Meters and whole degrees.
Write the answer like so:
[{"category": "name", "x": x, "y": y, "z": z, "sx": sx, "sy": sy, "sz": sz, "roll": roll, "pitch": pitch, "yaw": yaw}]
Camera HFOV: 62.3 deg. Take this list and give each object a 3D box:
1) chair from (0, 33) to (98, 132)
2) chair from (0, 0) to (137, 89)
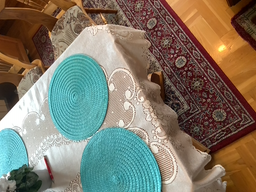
[{"category": "chair", "x": -0.760, "y": -0.080, "z": 1.620, "sx": 0.430, "sy": 0.860, "sz": 0.520, "roll": -37, "pitch": 70, "yaw": 26}, {"category": "chair", "x": -0.430, "y": -0.400, "z": 1.410, "sx": 0.440, "sy": 0.870, "sz": 0.520, "roll": -33, "pitch": 72, "yaw": 27}]
